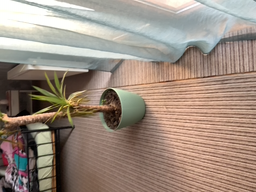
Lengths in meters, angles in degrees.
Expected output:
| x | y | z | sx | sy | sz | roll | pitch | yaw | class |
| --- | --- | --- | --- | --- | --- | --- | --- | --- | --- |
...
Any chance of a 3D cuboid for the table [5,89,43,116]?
| x | y | z | sx | sy | sz | roll | pitch | yaw | class |
| --- | --- | --- | --- | --- | --- | --- | --- | --- | --- |
| -2.010 | 0.100 | 4.090 | 0.470 | 0.550 | 0.460 | 3 | 94 | 51 | table |
